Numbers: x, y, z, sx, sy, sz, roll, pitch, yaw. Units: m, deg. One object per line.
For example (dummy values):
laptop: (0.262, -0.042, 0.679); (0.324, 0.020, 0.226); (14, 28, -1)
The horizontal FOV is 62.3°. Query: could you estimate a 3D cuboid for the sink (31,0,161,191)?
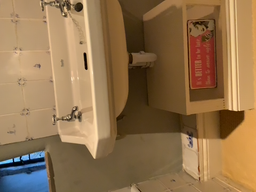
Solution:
sink: (-0.150, -0.060, 0.820); (0.470, 0.350, 0.710); (-163, 70, -67)
